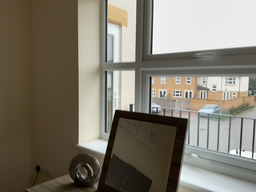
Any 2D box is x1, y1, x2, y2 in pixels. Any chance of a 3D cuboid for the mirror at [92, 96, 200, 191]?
[{"bbox_3d":[0.050,0.340,1.230,0.590,0.500,0.140,23,25,37],"label":"mirror"}]
